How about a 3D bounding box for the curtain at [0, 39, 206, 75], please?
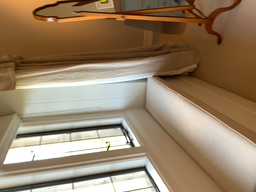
[{"bbox_3d":[-0.330,-0.420,2.160,0.560,2.200,0.220,-129,39,-63],"label":"curtain"}]
